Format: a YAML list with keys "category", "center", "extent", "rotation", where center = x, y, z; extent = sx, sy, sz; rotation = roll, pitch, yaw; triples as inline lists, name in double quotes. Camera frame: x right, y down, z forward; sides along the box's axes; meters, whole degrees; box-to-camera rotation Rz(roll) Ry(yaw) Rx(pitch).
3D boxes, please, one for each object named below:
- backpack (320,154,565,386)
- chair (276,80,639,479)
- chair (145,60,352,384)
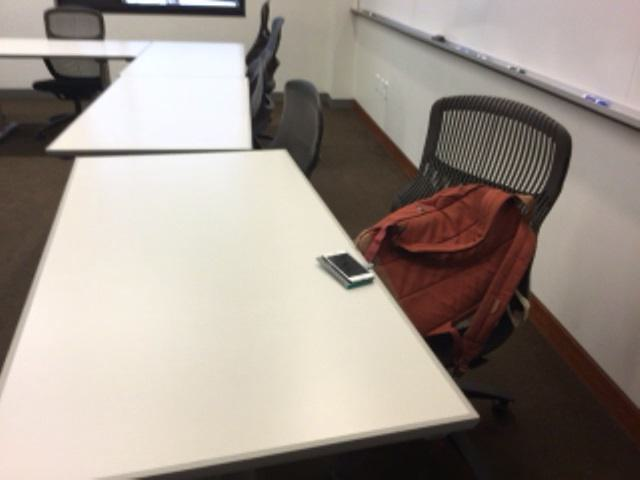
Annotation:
- category: "backpack"
  center: [0.310, 0.040, 1.480]
  extent: [0.370, 0.350, 0.460]
  rotation: [27, 33, 33]
- category: "chair"
  center: [0.350, 0.150, 1.660]
  extent: [0.630, 1.040, 0.680]
  rotation: [-10, 32, -30]
- category: "chair"
  center: [-0.320, -0.080, 2.190]
  extent: [0.600, 1.000, 0.660]
  rotation: [1, 28, -13]
